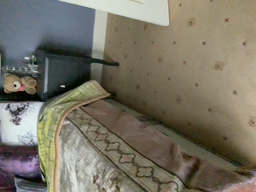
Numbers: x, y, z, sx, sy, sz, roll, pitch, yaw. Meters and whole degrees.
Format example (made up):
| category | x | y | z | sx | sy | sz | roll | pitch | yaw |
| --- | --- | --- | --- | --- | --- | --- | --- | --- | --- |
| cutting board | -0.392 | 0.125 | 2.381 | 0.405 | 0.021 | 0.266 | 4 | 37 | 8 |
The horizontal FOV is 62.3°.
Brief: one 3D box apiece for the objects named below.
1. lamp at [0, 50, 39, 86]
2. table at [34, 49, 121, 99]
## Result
| category | x | y | z | sx | sy | sz | roll | pitch | yaw |
| --- | --- | --- | --- | --- | --- | --- | --- | --- | --- |
| lamp | -1.060 | -0.250 | 1.860 | 0.220 | 0.470 | 0.290 | 20 | 107 | 56 |
| table | -0.510 | -0.220 | 2.130 | 0.430 | 0.730 | 0.400 | 22 | 109 | 55 |
